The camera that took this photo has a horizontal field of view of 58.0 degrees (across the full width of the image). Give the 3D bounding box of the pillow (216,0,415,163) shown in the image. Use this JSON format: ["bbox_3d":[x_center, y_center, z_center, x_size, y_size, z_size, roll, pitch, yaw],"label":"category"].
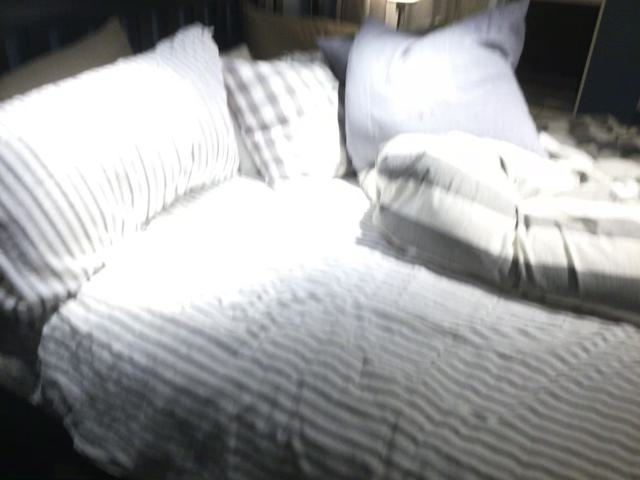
[{"bbox_3d":[0.040,-0.810,2.470,0.350,0.570,0.970,17,38,27],"label":"pillow"}]

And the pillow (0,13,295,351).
[{"bbox_3d":[-0.470,-0.230,1.430,0.320,0.420,0.960,17,38,27],"label":"pillow"}]

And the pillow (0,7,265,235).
[{"bbox_3d":[-0.570,-0.370,1.490,0.440,0.250,0.820,17,38,27],"label":"pillow"}]

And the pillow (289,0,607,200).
[{"bbox_3d":[0.360,-0.500,1.660,0.710,0.440,0.510,17,38,27],"label":"pillow"}]

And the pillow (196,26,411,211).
[{"bbox_3d":[-0.020,-0.410,1.800,0.370,0.330,0.600,17,38,27],"label":"pillow"}]
